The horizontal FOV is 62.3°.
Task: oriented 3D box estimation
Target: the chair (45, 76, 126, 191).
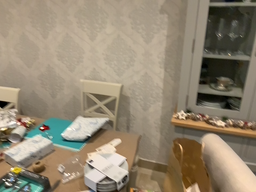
[{"bbox_3d":[-0.320,0.390,1.960,0.430,0.980,0.590,8,23,18],"label":"chair"}]
